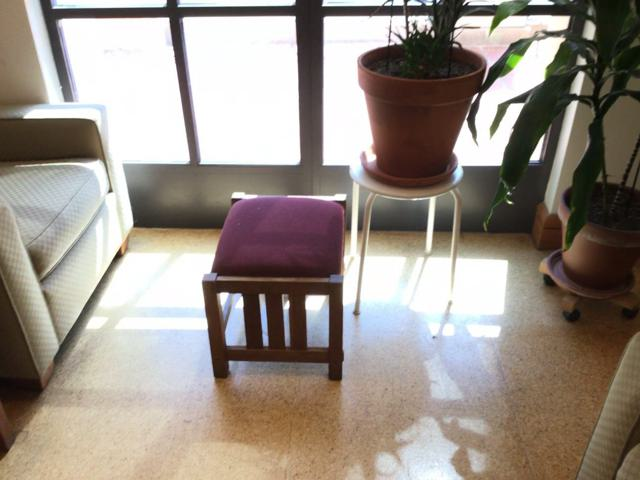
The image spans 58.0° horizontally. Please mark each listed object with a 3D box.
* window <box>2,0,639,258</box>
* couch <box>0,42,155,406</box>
[{"bbox_3d":[0.010,-0.530,2.020,1.930,1.210,0.310,0,32,2],"label":"window"},{"bbox_3d":[-1.130,-0.110,1.820,0.840,0.780,0.920,0,32,2],"label":"couch"}]
